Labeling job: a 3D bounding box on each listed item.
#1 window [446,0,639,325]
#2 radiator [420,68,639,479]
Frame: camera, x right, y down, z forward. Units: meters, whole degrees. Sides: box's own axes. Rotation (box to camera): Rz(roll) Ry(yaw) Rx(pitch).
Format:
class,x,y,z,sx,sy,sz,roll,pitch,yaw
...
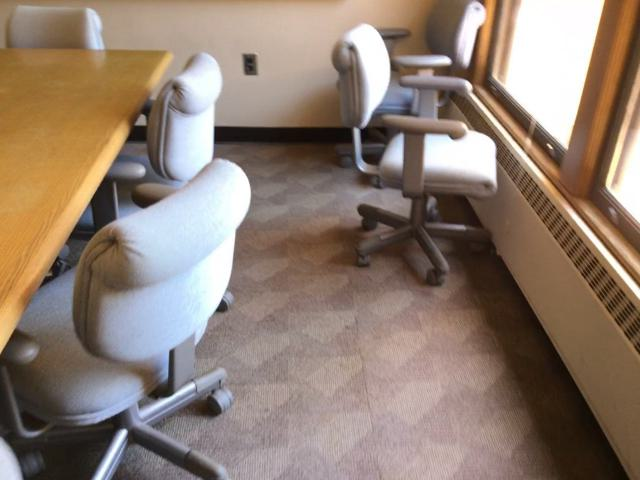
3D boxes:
class,x,y,z,sx,sy,sz,roll,pitch,yaw
window,0.840,-0.380,1.760,0.200,0.690,2.400,3,26,-5
radiator,0.730,0.020,1.930,0.140,0.700,2.640,3,26,-5
